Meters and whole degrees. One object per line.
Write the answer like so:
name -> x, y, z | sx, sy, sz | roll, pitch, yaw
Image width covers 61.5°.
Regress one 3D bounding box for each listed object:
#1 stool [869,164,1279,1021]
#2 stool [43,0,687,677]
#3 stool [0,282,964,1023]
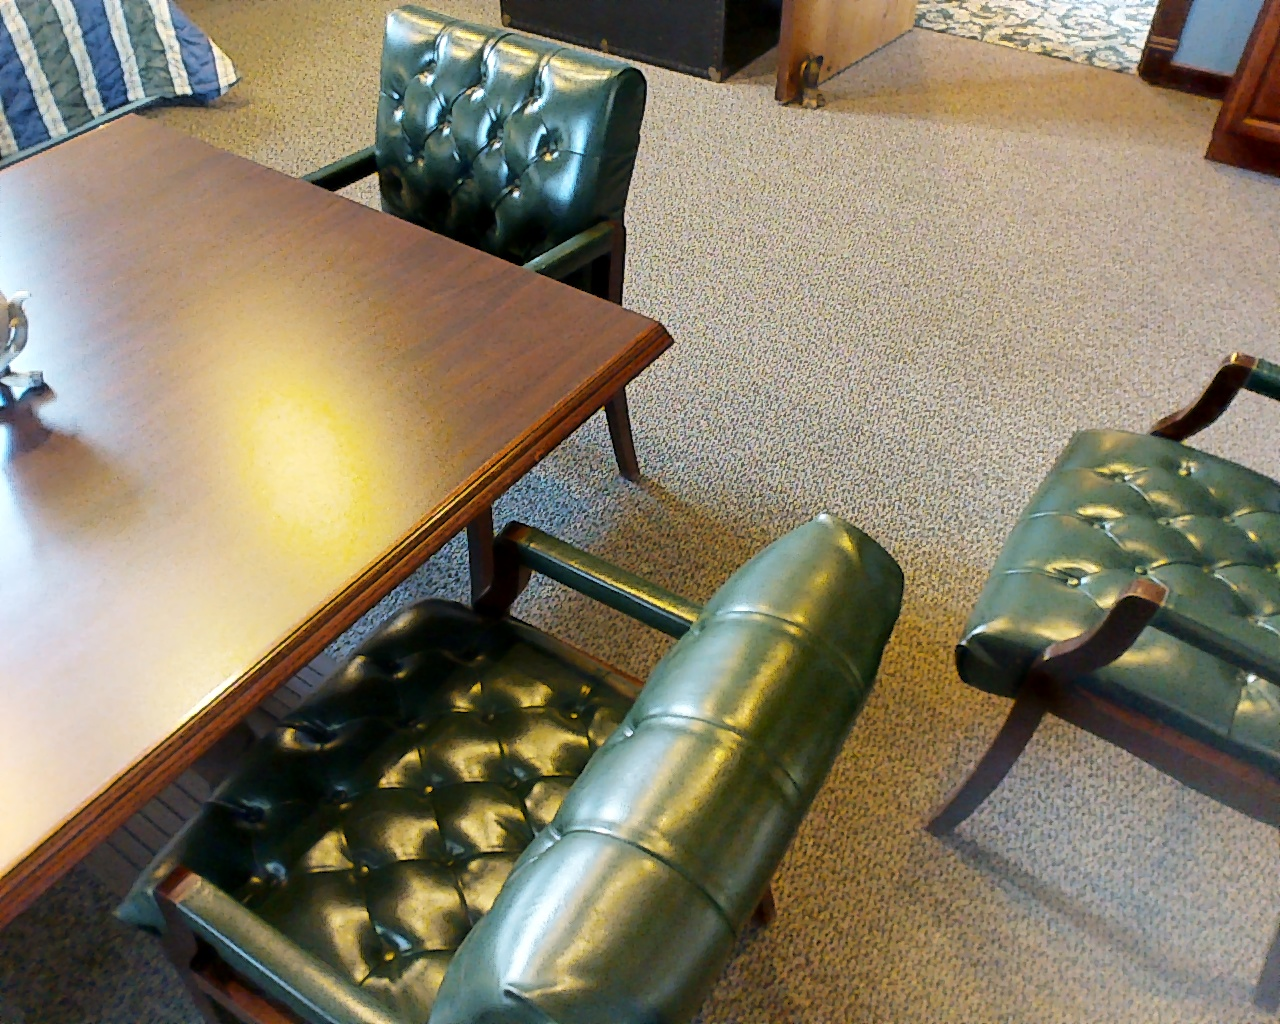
stool -> 0.860, 0.130, 1.530 | 0.730, 0.870, 0.620 | 25, 49, 23
stool -> -0.410, -0.360, 2.010 | 0.680, 0.880, 0.740 | 24, 49, 22
stool -> -0.220, 0.390, 1.240 | 0.790, 0.890, 0.670 | 24, 49, 22
